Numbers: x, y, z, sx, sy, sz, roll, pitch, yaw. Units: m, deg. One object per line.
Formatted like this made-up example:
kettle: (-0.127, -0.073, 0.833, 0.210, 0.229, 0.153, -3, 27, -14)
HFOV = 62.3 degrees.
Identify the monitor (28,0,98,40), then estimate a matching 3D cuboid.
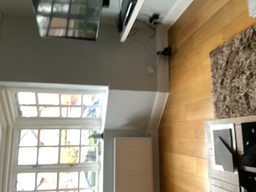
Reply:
monitor: (-0.530, -0.750, 1.760, 0.930, 0.540, 0.040, 127, 143, -69)
